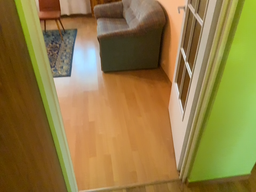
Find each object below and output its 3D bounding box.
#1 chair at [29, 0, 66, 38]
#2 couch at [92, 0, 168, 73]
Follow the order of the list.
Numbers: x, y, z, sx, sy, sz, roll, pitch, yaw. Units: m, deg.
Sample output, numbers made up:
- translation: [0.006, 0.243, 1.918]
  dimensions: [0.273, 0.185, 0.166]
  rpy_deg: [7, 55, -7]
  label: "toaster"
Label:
- translation: [-1.500, -1.590, 4.020]
  dimensions: [0.430, 0.790, 0.570]
  rpy_deg: [-3, 36, -6]
  label: "chair"
- translation: [-0.090, -1.180, 3.430]
  dimensions: [0.900, 0.860, 1.610]
  rpy_deg: [-5, 37, -8]
  label: "couch"
